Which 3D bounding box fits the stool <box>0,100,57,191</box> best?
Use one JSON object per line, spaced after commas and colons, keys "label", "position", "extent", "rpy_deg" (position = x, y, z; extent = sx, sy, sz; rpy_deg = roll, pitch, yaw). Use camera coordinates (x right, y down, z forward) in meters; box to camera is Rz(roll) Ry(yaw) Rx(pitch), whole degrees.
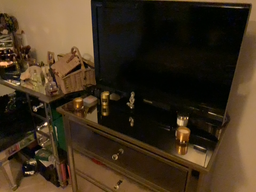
{"label": "stool", "position": [-0.940, 0.400, 1.740], "extent": [0.430, 0.510, 0.440], "rpy_deg": [16, 30, 30]}

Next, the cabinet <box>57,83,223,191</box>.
{"label": "cabinet", "position": [0.060, 0.440, 1.350], "extent": [0.790, 0.790, 0.470], "rpy_deg": [15, 29, 29]}
